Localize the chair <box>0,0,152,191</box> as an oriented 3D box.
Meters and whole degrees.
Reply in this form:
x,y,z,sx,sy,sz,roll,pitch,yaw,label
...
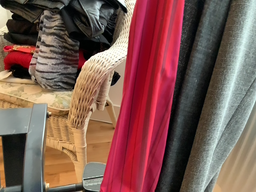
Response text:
x,y,z,sx,sy,sz,roll,pitch,yaw,label
-0.330,-0.090,1.070,0.690,0.830,0.650,12,27,13,chair
